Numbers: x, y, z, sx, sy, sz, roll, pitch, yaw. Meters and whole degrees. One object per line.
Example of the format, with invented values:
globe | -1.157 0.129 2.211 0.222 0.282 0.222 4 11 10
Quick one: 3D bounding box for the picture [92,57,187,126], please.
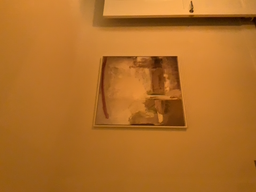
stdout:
picture | 0.120 -0.090 2.340 0.020 0.940 0.870 88 -177 -60
